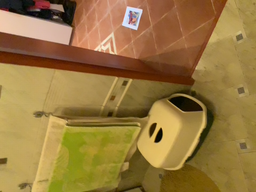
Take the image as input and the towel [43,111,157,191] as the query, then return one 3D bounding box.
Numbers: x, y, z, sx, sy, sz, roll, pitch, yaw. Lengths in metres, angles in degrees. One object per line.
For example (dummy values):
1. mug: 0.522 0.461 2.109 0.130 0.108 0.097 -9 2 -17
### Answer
1. towel: -0.190 0.430 1.470 0.120 0.640 0.690 42 119 43
